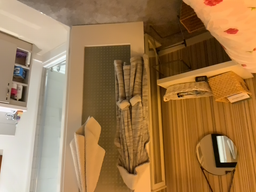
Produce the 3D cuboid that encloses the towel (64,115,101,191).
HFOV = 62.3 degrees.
[{"bbox_3d":[-0.380,0.550,1.830,0.270,0.750,0.180,0,165,-2],"label":"towel"}]
